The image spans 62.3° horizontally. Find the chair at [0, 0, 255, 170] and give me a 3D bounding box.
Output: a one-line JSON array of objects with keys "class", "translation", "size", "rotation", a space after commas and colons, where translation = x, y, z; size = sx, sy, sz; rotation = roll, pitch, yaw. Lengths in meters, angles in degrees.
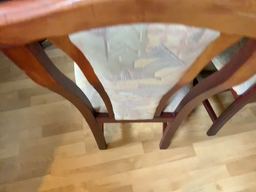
[{"class": "chair", "translation": [0.020, -0.060, 0.770], "size": [0.520, 1.080, 0.490], "rotation": [-1, 64, 0]}]
